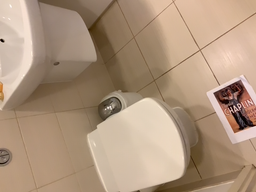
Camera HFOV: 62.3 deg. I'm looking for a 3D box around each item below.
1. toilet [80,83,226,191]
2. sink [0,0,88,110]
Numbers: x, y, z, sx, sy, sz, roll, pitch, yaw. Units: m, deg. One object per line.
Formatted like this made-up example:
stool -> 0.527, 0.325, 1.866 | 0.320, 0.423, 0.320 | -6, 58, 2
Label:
toilet -> 0.120, 0.230, 1.150 | 0.550, 0.430, 0.370 | -33, 74, 37
sink -> -0.490, -0.310, 0.960 | 0.470, 0.190, 0.590 | -34, 73, 37
